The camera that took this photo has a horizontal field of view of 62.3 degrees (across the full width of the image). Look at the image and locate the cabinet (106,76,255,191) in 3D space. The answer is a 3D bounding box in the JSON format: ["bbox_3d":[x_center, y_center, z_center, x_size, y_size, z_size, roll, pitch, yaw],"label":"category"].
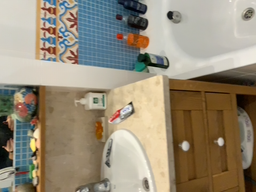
[{"bbox_3d":[0.360,0.400,1.090,0.470,0.800,0.860,-12,78,57],"label":"cabinet"}]

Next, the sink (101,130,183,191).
[{"bbox_3d":[0.040,0.400,0.900,0.370,0.160,0.500,-14,76,57],"label":"sink"}]

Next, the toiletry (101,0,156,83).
[{"bbox_3d":[0.000,-0.310,1.170,0.140,0.250,0.440,-13,77,57],"label":"toiletry"}]
